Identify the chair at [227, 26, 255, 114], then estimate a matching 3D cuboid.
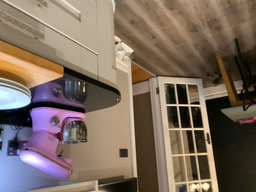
[{"bbox_3d":[1.450,-0.280,2.310,0.470,0.830,0.460,-14,161,30],"label":"chair"}]
